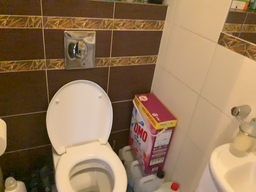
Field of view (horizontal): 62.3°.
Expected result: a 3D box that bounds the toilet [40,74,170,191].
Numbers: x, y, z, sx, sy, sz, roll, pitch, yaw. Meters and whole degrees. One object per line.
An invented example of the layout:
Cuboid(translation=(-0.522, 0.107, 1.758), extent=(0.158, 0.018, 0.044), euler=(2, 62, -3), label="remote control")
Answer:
Cuboid(translation=(-0.190, 0.360, 1.150), extent=(0.430, 0.760, 0.560), euler=(-7, 34, -24), label="toilet")
